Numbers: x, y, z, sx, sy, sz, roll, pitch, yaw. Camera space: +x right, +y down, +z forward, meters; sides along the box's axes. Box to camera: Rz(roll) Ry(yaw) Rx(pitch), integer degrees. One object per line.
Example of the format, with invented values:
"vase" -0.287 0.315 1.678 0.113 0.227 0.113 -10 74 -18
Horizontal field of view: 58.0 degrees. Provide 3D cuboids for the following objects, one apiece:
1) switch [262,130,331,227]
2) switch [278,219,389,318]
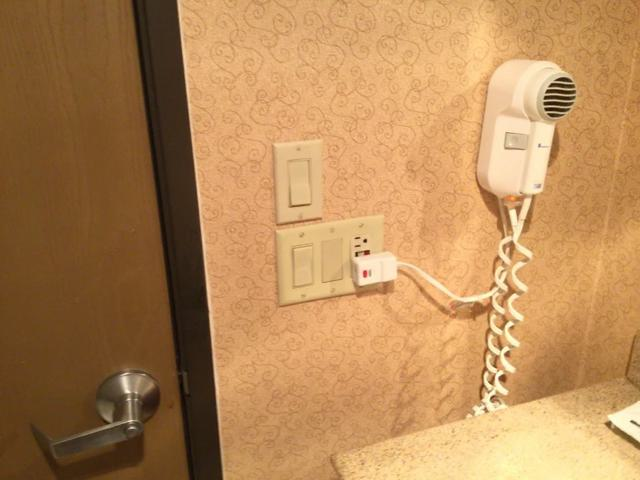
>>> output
"switch" -0.030 -0.080 0.760 0.090 0.120 0.010 -8 24 -20
"switch" 0.020 0.040 0.830 0.160 0.120 0.020 -8 24 -20
